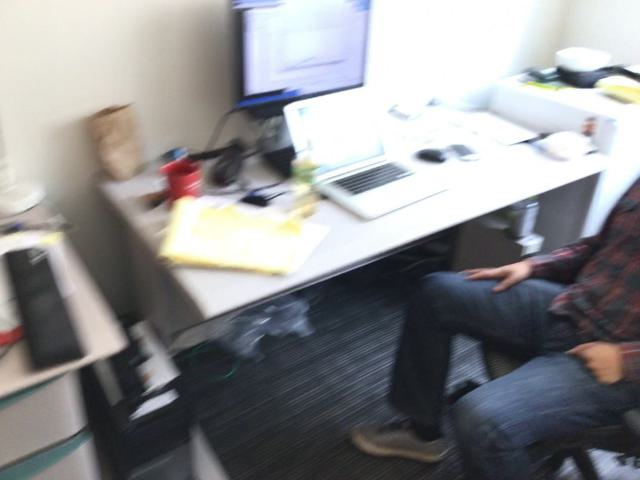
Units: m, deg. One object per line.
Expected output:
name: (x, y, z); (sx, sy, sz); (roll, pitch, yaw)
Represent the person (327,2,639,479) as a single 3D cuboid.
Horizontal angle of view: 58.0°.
person: (0.610, 0.140, 1.430); (0.830, 1.190, 0.790); (-20, 38, -31)
